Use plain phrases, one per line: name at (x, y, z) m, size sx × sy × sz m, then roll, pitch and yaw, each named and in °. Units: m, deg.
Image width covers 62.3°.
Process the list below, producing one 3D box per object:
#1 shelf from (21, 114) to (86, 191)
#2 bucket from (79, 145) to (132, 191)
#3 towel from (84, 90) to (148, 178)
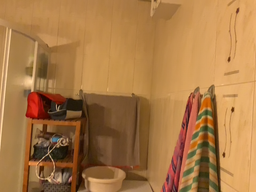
shelf at (-0.610, 0.860, 1.750) m, size 0.370 × 1.370 × 0.500 m, roll 5°, pitch -1°, yaw -6°
bucket at (-0.190, 0.660, 1.820) m, size 0.380 × 0.360 × 0.420 m, roll 5°, pitch -1°, yaw -5°
towel at (-0.110, 0.350, 1.990) m, size 0.520 × 0.760 × 0.150 m, roll 5°, pitch -1°, yaw -3°
